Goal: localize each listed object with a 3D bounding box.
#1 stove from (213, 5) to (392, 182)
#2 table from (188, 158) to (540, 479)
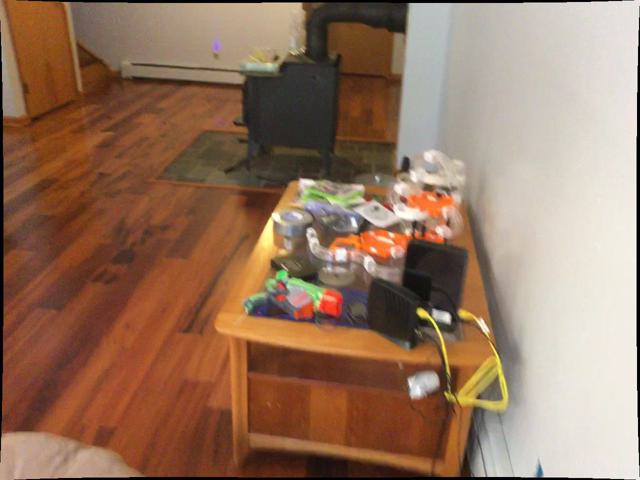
[{"bbox_3d":[-0.090,-1.131,4.310,1.159,1.101,0.850,3,26,4],"label":"stove"},{"bbox_3d":[0.150,0.200,2.090,0.849,0.590,1.280,3,26,4],"label":"table"}]
